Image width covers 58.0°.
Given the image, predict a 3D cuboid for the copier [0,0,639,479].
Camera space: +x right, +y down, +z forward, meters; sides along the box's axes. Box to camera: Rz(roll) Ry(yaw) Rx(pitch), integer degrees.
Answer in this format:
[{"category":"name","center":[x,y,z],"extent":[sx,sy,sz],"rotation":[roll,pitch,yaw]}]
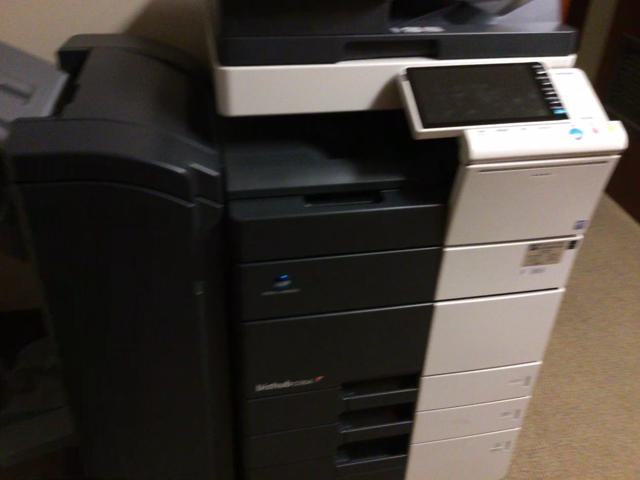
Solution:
[{"category":"copier","center":[-0.130,0.020,1.250],"extent":[1.120,1.150,0.660],"rotation":[-6,34,-10]}]
